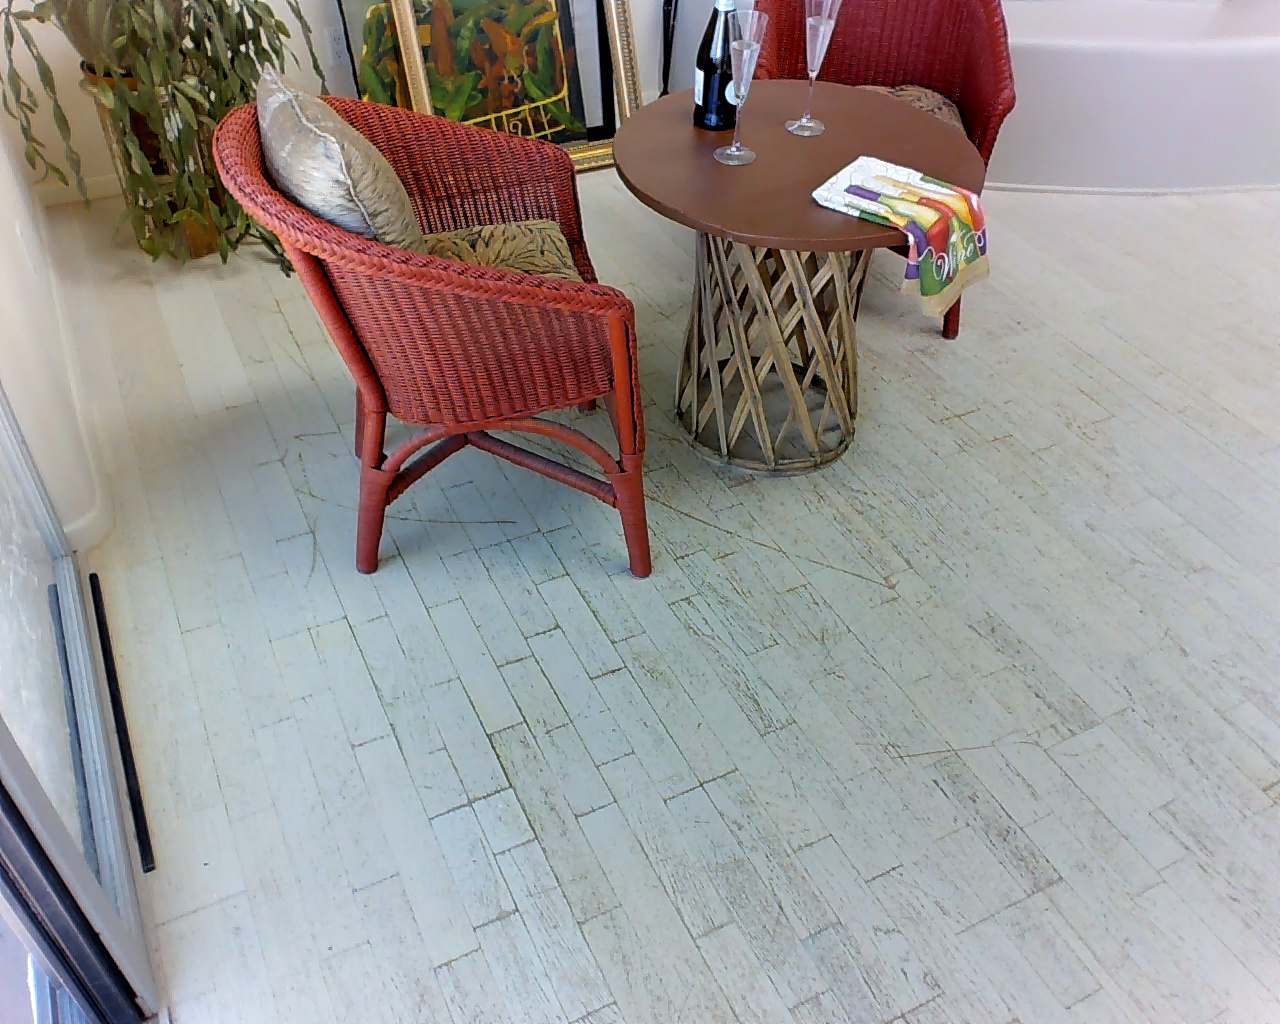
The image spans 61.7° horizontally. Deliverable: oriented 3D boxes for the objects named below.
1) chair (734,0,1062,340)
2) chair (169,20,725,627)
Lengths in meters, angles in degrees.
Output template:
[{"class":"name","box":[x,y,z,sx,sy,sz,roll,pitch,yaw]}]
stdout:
[{"class":"chair","box":[0.580,-0.960,2.730,0.610,0.750,0.670,4,42,1]},{"class":"chair","box":[-0.320,-0.350,1.950,0.740,0.820,0.650,-6,43,-9]}]
